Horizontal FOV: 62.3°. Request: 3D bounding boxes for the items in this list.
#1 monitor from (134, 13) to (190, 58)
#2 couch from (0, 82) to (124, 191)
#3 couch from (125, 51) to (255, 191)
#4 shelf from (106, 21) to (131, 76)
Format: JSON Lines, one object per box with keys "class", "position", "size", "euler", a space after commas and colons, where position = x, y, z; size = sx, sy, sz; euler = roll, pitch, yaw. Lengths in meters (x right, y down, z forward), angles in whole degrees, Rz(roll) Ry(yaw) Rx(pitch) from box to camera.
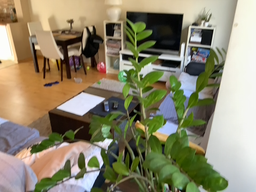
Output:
{"class": "monitor", "position": [0.560, -1.060, 3.710], "size": [0.890, 0.650, 0.060], "euler": [15, 28, 20]}
{"class": "couch", "position": [-0.960, 0.500, 1.540], "size": [1.630, 0.820, 0.900], "euler": [12, 28, 22]}
{"class": "couch", "position": [0.880, 0.180, 2.310], "size": [0.950, 0.760, 2.150], "euler": [13, 28, 23]}
{"class": "shelf", "position": [-0.190, -0.970, 4.330], "size": [0.380, 1.030, 0.290], "euler": [12, 28, 22]}
